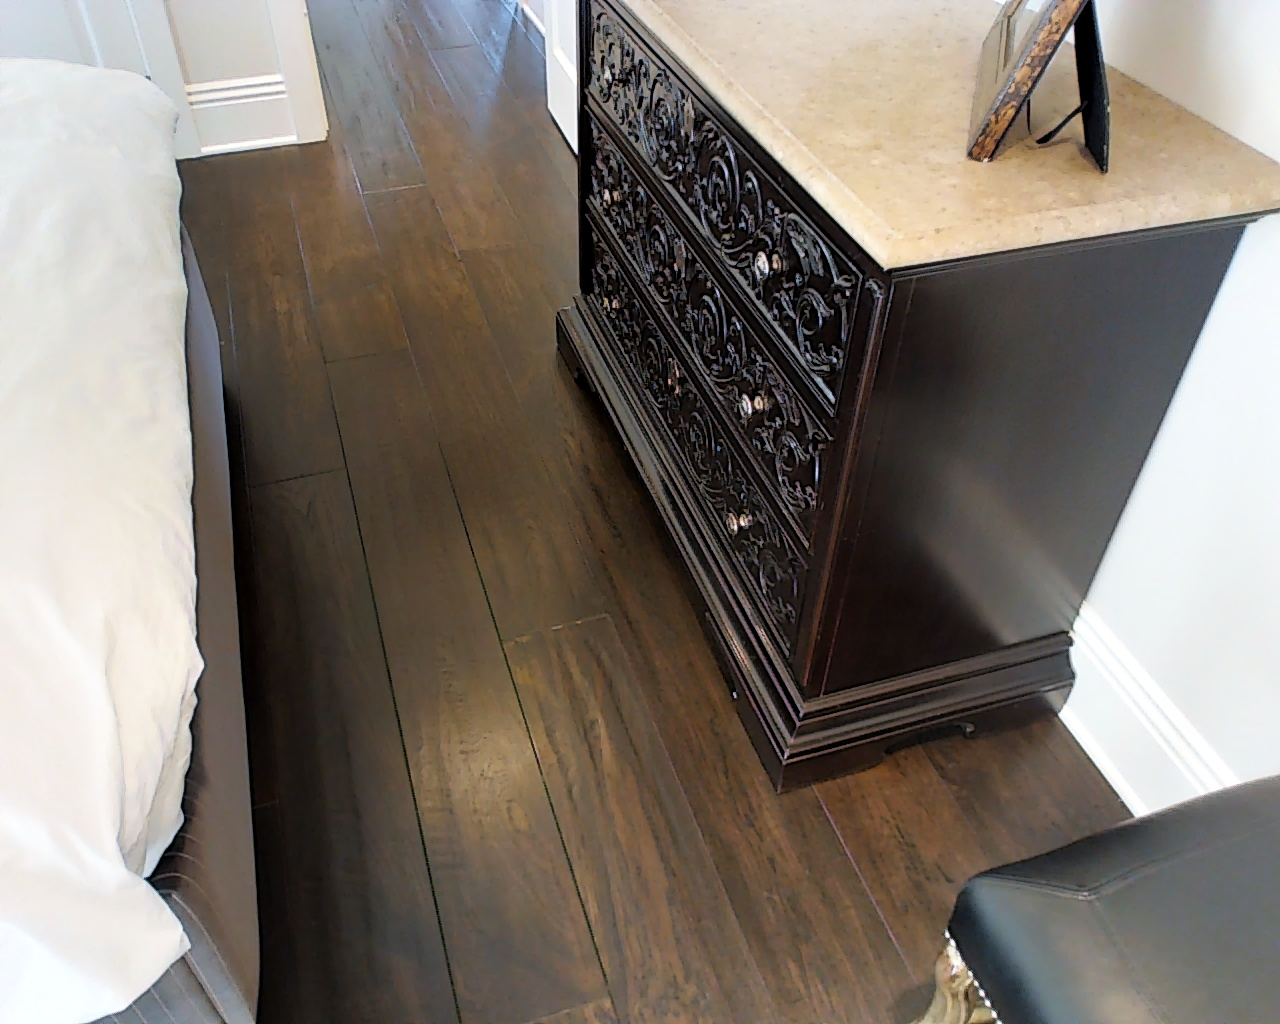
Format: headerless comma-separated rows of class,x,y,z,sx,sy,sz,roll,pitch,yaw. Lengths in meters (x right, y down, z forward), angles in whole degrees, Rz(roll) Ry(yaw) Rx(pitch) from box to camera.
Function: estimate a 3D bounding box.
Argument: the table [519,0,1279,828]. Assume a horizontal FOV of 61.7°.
table,0.280,-0.390,1.900,0.620,1.030,1.380,-13,43,-14
